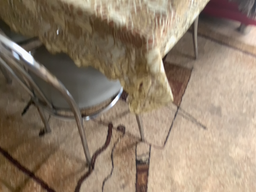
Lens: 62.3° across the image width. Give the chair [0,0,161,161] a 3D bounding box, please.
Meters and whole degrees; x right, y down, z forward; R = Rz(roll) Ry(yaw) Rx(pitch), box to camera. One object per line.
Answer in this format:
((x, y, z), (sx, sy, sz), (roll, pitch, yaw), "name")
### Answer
((-0.180, -0.130, 0.860), (0.400, 0.780, 0.440), (33, 66, 20), "chair")
